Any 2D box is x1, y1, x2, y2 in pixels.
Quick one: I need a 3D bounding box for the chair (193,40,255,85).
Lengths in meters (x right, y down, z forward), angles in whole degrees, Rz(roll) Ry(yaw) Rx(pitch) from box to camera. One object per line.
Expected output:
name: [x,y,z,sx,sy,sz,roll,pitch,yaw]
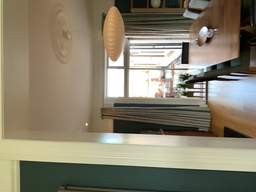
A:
chair: [1.460,-0.440,2.930,0.430,0.970,0.560,-61,-27,-85]
